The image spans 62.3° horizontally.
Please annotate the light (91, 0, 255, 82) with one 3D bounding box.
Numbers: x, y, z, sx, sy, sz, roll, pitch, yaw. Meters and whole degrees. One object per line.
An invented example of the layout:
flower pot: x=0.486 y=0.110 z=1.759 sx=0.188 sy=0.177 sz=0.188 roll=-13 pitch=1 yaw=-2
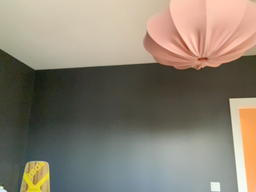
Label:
light: x=0.300 y=-0.500 z=1.060 sx=0.720 sy=0.530 sz=0.540 roll=18 pitch=79 yaw=13
